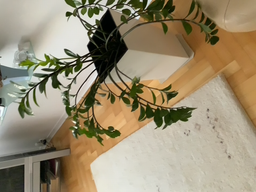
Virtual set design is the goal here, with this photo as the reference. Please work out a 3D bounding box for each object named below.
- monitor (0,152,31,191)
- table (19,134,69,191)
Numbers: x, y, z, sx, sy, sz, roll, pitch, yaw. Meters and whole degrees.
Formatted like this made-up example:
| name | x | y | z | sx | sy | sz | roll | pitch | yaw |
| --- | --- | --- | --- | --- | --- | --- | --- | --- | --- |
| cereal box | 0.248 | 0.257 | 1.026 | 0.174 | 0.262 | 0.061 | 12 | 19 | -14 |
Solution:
| name | x | y | z | sx | sy | sz | roll | pitch | yaw |
| --- | --- | --- | --- | --- | --- | --- | --- | --- | --- |
| monitor | -1.430 | 1.100 | 2.470 | 0.060 | 0.550 | 0.810 | 12 | 101 | 48 |
| table | -1.190 | 1.050 | 2.980 | 0.550 | 0.490 | 0.830 | 11 | 100 | 49 |
